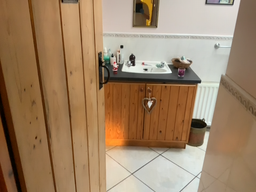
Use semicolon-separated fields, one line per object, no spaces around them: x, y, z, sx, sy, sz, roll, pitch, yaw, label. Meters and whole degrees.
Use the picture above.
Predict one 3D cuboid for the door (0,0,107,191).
-0.290;0.270;0.980;0.050;1.920;0.910;7;24;13;door
